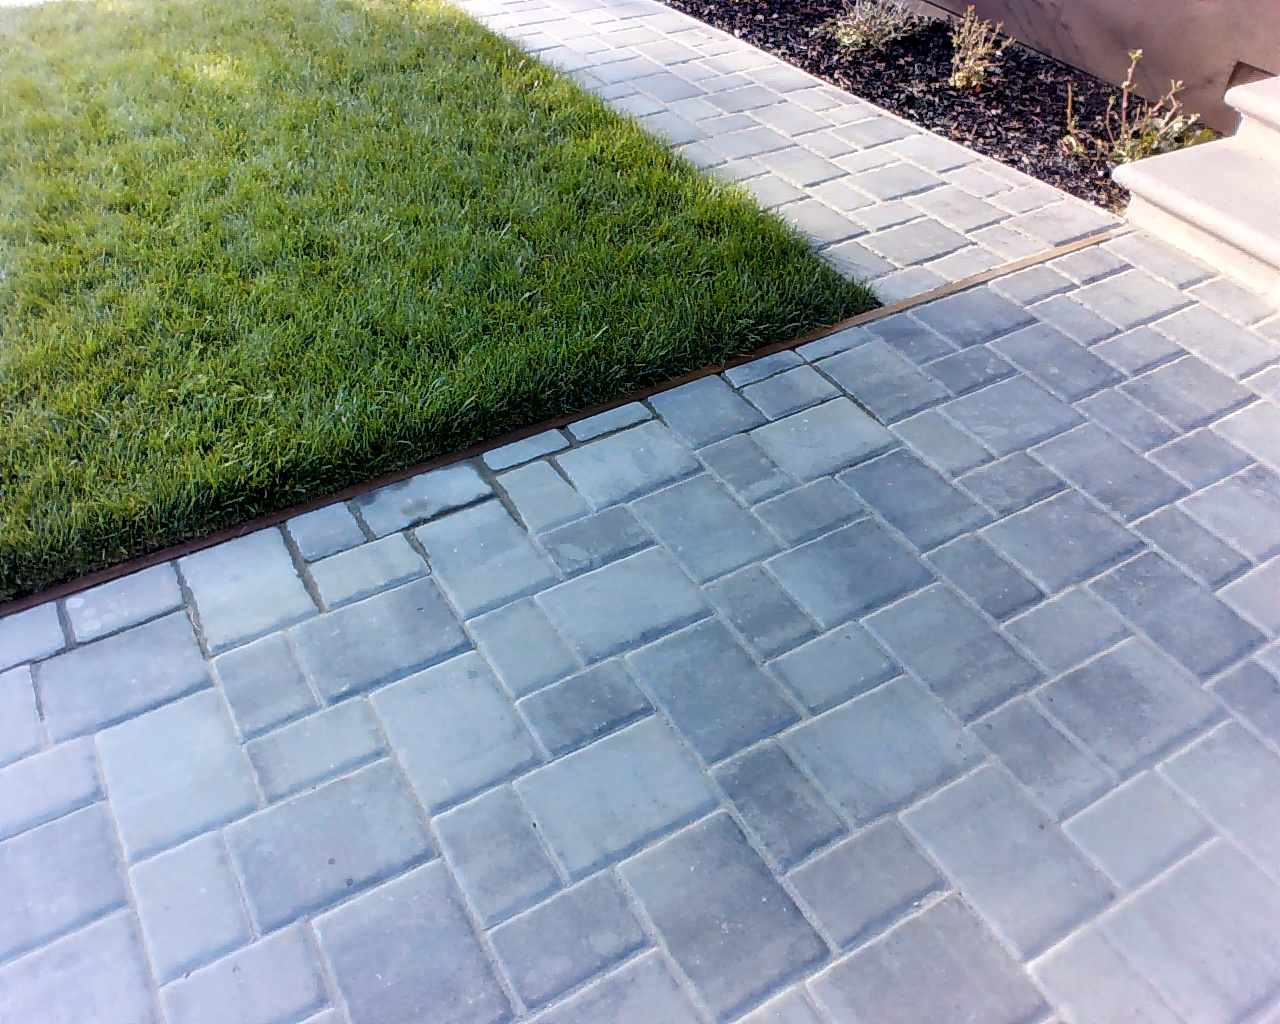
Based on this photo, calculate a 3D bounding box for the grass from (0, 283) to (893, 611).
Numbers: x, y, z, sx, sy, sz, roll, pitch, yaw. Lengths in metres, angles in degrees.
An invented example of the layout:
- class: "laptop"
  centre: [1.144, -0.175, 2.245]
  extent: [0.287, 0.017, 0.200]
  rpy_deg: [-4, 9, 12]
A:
- class: "grass"
  centre: [-0.650, -0.090, 2.390]
  extent: [3.020, 0.060, 0.090]
  rpy_deg: [-21, 46, -22]
